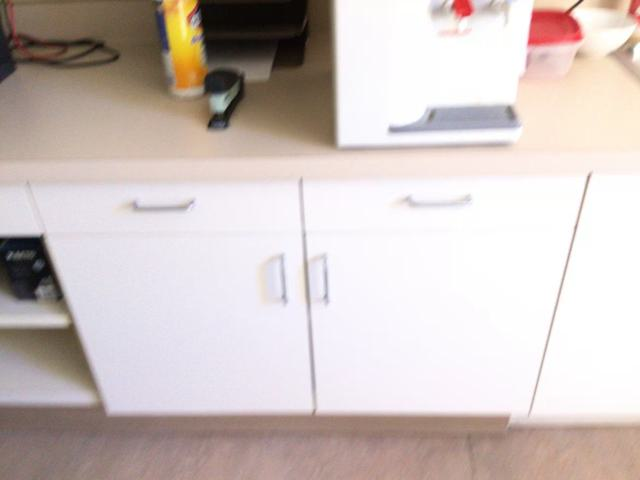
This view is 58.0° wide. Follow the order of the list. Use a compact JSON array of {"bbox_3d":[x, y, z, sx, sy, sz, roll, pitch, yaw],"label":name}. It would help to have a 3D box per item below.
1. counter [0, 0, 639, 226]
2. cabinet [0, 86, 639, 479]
[{"bbox_3d":[0.030,-0.350,1.150,3.030,0.290,0.700,1,35,3],"label":"counter"},{"bbox_3d":[-0.020,0.130,1.250,2.910,0.820,0.360,1,35,3],"label":"cabinet"}]
